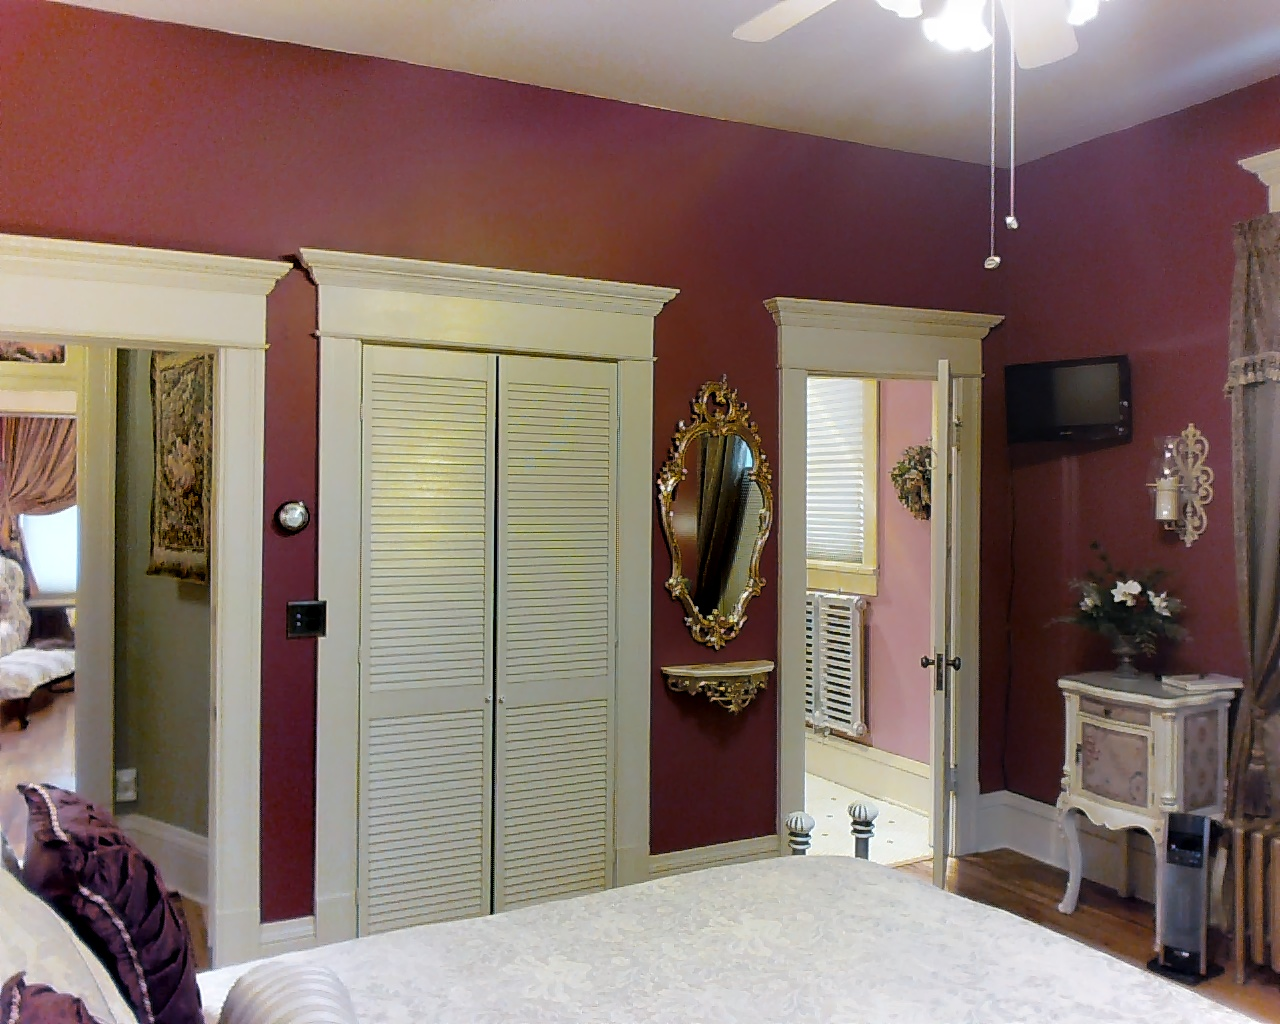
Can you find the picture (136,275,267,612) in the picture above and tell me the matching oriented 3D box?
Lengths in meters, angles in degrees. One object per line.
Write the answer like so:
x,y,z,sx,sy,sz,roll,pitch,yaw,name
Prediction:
-1.659,-0.230,4.030,0.220,1.120,0.960,0,0,-36,picture
